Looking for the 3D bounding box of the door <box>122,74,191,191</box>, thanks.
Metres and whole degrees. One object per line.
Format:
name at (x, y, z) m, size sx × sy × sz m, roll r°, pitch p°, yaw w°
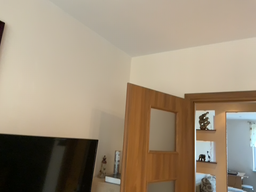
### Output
door at (0.260, 0.910, 1.720) m, size 0.080 × 2.040 × 0.830 m, roll -6°, pitch -15°, yaw 44°
